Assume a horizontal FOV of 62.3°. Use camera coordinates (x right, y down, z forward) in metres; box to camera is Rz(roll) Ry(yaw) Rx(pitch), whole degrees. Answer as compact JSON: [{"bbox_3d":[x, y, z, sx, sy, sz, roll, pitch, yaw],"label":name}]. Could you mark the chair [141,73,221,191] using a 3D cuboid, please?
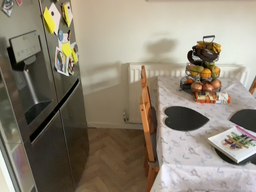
[{"bbox_3d":[0.320,0.360,1.570,0.410,0.960,0.410,3,27,5],"label":"chair"}]
